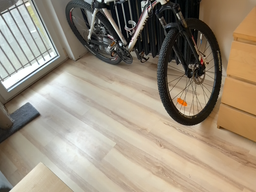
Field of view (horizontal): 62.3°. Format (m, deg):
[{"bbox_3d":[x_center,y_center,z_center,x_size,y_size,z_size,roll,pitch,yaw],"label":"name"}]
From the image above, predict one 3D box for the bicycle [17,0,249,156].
[{"bbox_3d":[-0.030,-0.440,1.760,1.560,1.060,0.710,26,56,33],"label":"bicycle"}]
